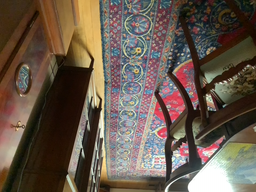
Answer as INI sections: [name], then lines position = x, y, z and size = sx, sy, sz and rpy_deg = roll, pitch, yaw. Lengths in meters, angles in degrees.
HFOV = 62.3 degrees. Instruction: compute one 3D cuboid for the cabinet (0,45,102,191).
[cabinet]
position = -0.530, 0.740, 2.150
size = 0.370, 1.120, 2.180
rpy_deg = 3, 140, -2
